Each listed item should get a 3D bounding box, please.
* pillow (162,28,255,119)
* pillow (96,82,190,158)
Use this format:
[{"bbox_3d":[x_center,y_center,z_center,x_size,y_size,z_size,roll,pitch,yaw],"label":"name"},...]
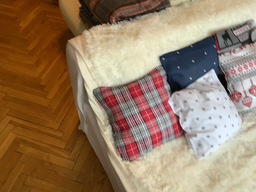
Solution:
[{"bbox_3d":[0.530,-0.150,1.230,0.560,0.190,0.310,-25,60,-22],"label":"pillow"},{"bbox_3d":[0.080,0.130,1.070,0.290,0.360,0.150,12,39,-55],"label":"pillow"}]
